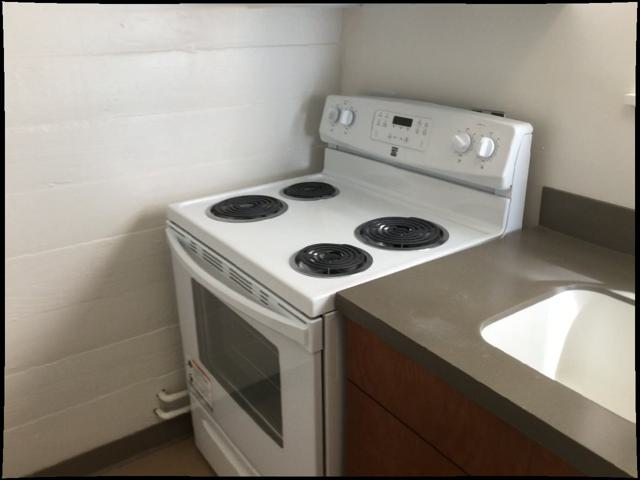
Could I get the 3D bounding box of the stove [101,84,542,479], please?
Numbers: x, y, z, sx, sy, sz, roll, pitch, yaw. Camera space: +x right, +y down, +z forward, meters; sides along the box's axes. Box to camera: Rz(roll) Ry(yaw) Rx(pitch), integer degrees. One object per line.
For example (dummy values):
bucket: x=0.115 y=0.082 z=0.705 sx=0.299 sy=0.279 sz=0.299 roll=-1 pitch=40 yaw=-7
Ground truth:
stove: x=-0.030 y=0.201 z=1.800 sx=0.779 sy=1.183 sz=0.989 roll=-18 pitch=26 yaw=-32
